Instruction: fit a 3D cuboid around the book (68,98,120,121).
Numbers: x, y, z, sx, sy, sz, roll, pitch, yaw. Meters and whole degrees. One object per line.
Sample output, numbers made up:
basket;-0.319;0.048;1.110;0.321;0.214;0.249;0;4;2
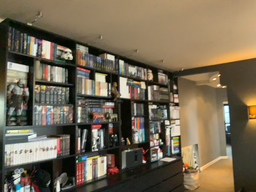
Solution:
book;-0.450;0.200;3.020;0.220;0.280;0.810;-6;-7;36

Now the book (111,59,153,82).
book;0.100;-0.420;3.710;0.220;0.240;0.910;-6;-7;39

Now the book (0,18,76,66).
book;-0.970;-0.570;2.390;0.210;0.290;0.780;-6;-7;36

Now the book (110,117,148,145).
book;0.040;0.570;3.640;0.210;0.410;0.820;-6;-7;36

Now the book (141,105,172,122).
book;0.600;0.360;4.330;0.250;0.330;0.790;-6;-7;39

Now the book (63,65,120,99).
book;-0.490;-0.170;3.010;0.350;0.350;0.770;-6;-7;36

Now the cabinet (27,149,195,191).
cabinet;0.050;1.500;3.300;0.560;0.760;3.870;-6;-7;38

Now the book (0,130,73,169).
book;-0.990;0.540;2.290;0.260;0.290;0.770;-6;-7;36

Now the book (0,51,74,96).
book;-1.020;-0.210;2.370;0.280;0.350;0.800;-6;-7;38

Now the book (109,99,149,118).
book;0.040;0.220;3.640;0.250;0.290;0.830;-6;-7;36
